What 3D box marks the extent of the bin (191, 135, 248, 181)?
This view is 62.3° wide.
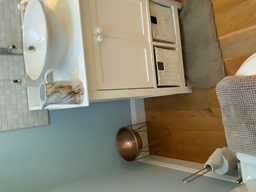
[{"bbox_3d":[0.530,0.340,1.220,0.180,0.280,0.160,-4,91,51],"label":"bin"}]
